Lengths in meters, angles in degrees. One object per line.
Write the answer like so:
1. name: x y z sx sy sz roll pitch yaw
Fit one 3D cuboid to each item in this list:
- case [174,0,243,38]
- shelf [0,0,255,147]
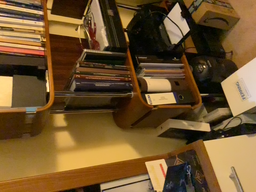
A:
1. case: 0.530 -0.580 1.420 0.170 0.320 0.300 -48 49 51
2. shelf: -0.080 -0.240 1.230 0.360 1.590 0.840 -48 50 51
